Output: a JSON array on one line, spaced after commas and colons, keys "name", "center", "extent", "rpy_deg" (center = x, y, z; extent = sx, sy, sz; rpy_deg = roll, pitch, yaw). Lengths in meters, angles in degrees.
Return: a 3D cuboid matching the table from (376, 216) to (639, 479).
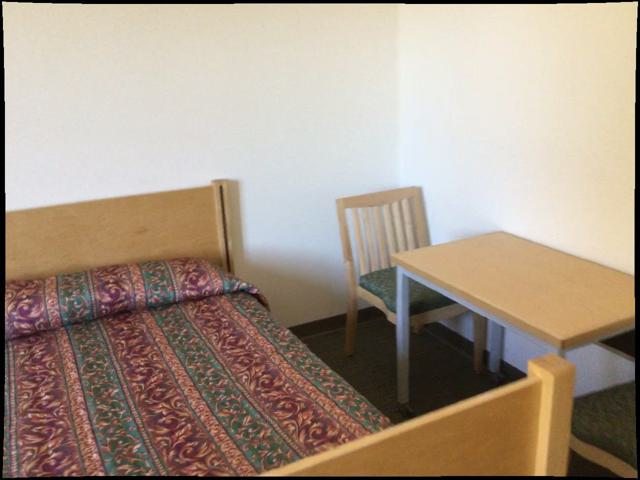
[{"name": "table", "center": [0.769, 0.430, 2.300], "extent": [0.659, 0.731, 1.000], "rpy_deg": [-11, 21, -22]}]
